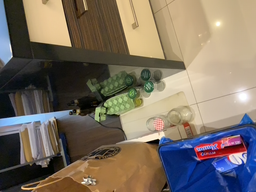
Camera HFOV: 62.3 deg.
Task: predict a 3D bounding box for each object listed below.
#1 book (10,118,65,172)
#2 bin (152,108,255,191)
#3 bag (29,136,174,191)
[{"bbox_3d":[-0.890,0.470,2.080,0.300,0.340,0.430,-17,83,40],"label":"book"},{"bbox_3d":[0.410,0.250,0.920,0.380,0.420,0.290,-22,80,39],"label":"bin"},{"bbox_3d":[-0.130,0.400,1.000,0.510,0.400,0.290,-17,83,40],"label":"bag"}]
